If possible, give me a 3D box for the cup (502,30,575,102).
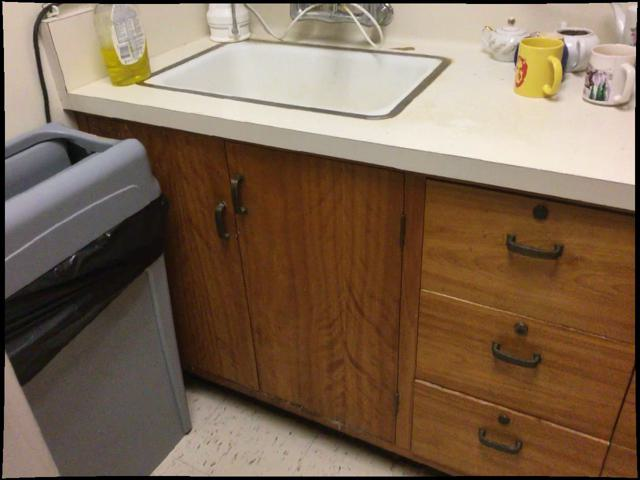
[{"bbox_3d":[0.449,-0.361,1.180,0.100,0.090,0.190,13,35,23],"label":"cup"}]

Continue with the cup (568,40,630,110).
[{"bbox_3d":[0.539,-0.321,1.110,0.080,0.090,0.140,13,35,23],"label":"cup"}]
